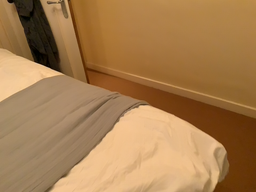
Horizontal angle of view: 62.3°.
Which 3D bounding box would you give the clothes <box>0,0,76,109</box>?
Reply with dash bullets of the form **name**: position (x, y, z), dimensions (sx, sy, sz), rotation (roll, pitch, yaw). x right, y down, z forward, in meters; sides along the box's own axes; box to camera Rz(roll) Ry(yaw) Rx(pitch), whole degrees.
- **clothes**: position (-0.870, -0.550, 1.830), dimensions (0.470, 1.490, 0.160), rotation (5, 36, 18)
